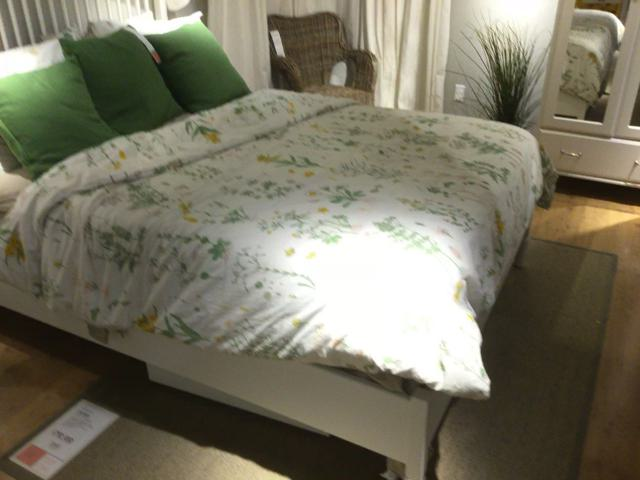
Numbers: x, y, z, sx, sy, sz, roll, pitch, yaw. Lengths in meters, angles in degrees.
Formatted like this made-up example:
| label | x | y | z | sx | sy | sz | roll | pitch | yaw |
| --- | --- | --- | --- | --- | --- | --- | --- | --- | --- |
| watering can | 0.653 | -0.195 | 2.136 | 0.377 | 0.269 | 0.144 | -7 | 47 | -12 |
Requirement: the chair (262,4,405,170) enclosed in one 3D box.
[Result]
| label | x | y | z | sx | sy | sz | roll | pitch | yaw |
| --- | --- | --- | --- | --- | --- | --- | --- | --- | --- |
| chair | 0.080 | -1.060 | 3.920 | 0.750 | 0.910 | 0.630 | -10 | 29 | -15 |

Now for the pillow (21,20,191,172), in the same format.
| label | x | y | z | sx | sy | sz | roll | pitch | yaw |
| --- | --- | --- | --- | --- | --- | --- | --- | --- | --- |
| pillow | -0.840 | -0.590 | 2.340 | 0.210 | 0.440 | 0.450 | -19 | 19 | 35 |

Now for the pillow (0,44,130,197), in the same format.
| label | x | y | z | sx | sy | sz | roll | pitch | yaw |
| --- | --- | --- | --- | --- | --- | --- | --- | --- | --- |
| pillow | -0.960 | -0.420 | 1.990 | 0.220 | 0.370 | 0.390 | -31 | 7 | 39 |

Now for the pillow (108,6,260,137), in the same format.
| label | x | y | z | sx | sy | sz | roll | pitch | yaw |
| --- | --- | --- | --- | --- | --- | --- | --- | --- | --- |
| pillow | -0.610 | -0.790 | 2.670 | 0.210 | 0.460 | 0.490 | -31 | 7 | 39 |
